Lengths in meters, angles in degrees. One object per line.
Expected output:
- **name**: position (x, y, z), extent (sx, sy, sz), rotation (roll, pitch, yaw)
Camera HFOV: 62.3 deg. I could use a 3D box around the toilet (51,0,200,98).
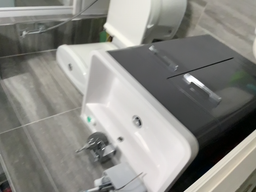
- **toilet**: position (-0.030, -0.470, 1.410), extent (0.430, 0.780, 0.670), rotation (47, 137, 29)
